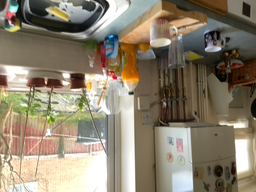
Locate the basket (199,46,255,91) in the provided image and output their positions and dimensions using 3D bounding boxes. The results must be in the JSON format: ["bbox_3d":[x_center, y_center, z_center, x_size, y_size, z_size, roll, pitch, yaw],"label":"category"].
[{"bbox_3d":[1.090,-0.220,2.000,0.580,0.270,0.550,2,175,-33],"label":"basket"}]

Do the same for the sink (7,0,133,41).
[{"bbox_3d":[-0.290,-0.440,0.950,0.400,0.180,0.510,2,175,-33],"label":"sink"}]

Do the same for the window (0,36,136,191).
[{"bbox_3d":[-0.560,0.310,1.230,1.180,1.170,0.370,1,175,-29],"label":"window"}]

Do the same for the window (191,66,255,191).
[{"bbox_3d":[1.100,0.400,2.220,0.940,1.300,0.260,2,175,-35],"label":"window"}]
